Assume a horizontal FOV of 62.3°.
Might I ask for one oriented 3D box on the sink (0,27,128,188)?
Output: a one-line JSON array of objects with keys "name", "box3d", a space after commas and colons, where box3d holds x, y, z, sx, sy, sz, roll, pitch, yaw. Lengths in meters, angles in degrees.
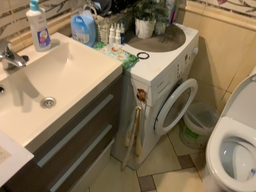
[{"name": "sink", "box3d": [-0.350, -0.040, 0.830, 0.430, 0.110, 0.610, 27, 48, 19]}]
